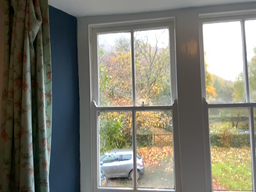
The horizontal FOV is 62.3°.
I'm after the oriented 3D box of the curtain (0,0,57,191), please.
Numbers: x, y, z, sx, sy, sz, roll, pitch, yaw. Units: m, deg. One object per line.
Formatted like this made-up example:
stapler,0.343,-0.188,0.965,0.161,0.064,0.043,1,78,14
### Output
curtain,-0.490,0.200,0.940,0.270,1.640,0.190,-2,-3,9
